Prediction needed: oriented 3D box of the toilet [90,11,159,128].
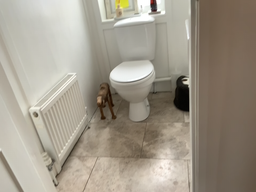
[{"bbox_3d":[0.040,-0.240,1.810,0.360,0.780,0.650,-1,29,13],"label":"toilet"}]
